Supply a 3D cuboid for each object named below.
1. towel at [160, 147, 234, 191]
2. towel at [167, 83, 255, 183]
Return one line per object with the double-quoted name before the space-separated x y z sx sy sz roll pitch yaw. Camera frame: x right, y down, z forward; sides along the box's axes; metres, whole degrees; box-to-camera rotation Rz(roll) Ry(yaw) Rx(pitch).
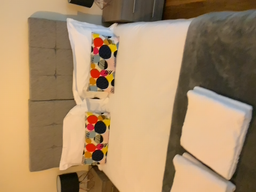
"towel" 0.350 0.550 1.190 0.400 0.070 0.370 27 113 56
"towel" 0.400 0.160 1.110 0.400 0.080 0.380 28 113 56
